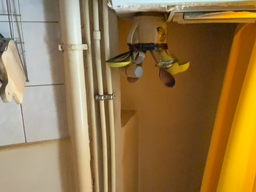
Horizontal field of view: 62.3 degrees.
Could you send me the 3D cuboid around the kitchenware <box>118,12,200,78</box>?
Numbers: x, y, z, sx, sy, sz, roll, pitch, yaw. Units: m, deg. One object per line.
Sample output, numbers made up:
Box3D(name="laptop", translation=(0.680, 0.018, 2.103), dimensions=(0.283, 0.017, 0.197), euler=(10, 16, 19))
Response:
Box3D(name="kitchenware", translation=(0.120, -0.240, 1.000), dimensions=(0.320, 0.260, 0.290), euler=(0, -164, -1))
